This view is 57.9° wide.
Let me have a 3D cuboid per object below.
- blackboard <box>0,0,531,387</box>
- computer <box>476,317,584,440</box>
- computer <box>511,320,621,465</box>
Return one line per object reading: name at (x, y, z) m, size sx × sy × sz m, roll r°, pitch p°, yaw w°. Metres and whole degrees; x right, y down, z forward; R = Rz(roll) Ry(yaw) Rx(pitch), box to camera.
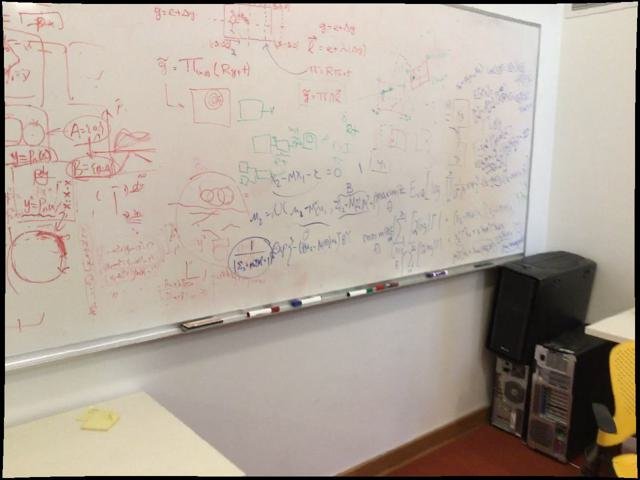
blackboard at (-0.120, -0.320, 2.020) m, size 2.688 × 1.211 × 0.120 m, roll -8°, pitch 16°, yaw -39°
computer at (1.129, 0.721, 3.100) m, size 0.550 × 0.460 × 0.250 m, roll -8°, pitch 16°, yaw -39°
computer at (1.209, 0.731, 2.850) m, size 0.350 × 0.541 × 0.310 m, roll -8°, pitch 16°, yaw -39°
